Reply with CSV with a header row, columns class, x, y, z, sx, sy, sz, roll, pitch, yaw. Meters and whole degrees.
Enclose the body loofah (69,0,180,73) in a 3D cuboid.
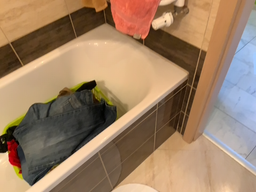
class,x,y,z,sx,sy,sz,roll,pitch,yaw
body loofah,-0.060,-0.480,0.900,0.200,0.530,0.560,-35,56,-22
